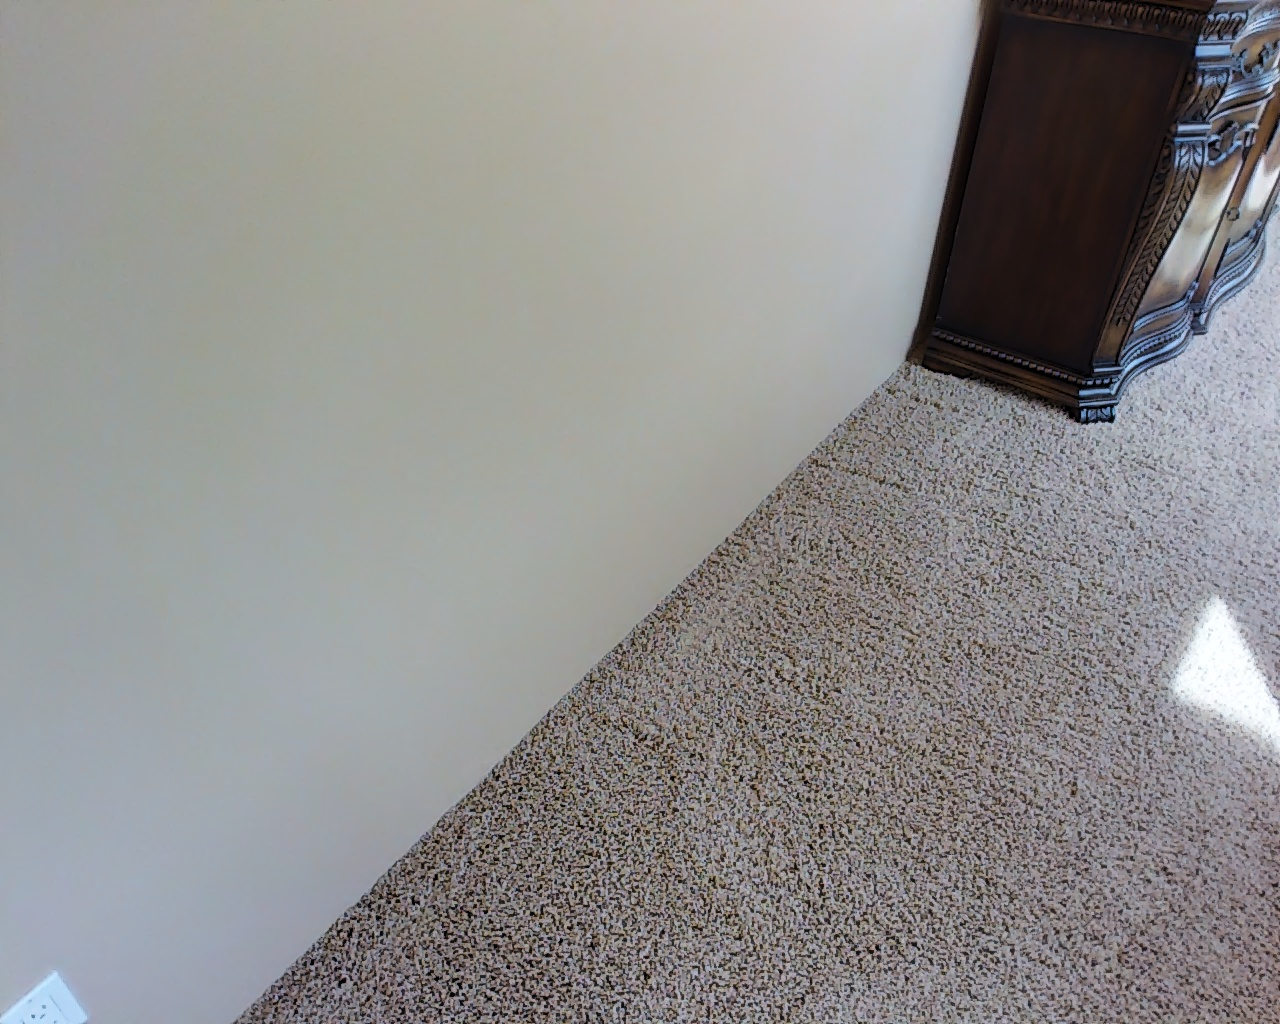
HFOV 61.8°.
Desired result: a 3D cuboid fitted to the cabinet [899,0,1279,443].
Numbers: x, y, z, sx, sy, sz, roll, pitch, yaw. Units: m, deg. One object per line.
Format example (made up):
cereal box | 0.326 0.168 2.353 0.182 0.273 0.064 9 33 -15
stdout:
cabinet | 1.601 -1.239 3.020 0.640 0.990 2.200 26 47 26
